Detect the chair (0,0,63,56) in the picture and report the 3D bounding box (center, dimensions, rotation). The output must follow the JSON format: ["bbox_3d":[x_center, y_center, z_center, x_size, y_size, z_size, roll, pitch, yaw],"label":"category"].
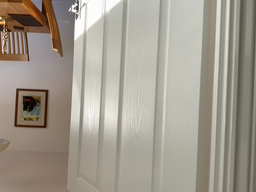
[{"bbox_3d":[-0.960,-0.960,2.050,0.560,1.050,0.410,2,-179,-7],"label":"chair"}]
